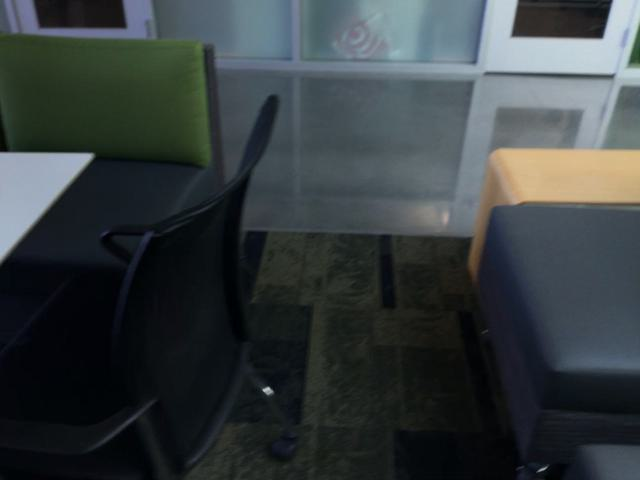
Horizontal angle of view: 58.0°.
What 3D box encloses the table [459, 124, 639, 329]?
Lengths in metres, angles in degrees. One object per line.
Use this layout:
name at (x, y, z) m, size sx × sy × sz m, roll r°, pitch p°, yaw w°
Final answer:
table at (0.860, -0.050, 1.880) m, size 0.660 × 0.510 × 0.420 m, roll 3°, pitch 29°, yaw 0°
